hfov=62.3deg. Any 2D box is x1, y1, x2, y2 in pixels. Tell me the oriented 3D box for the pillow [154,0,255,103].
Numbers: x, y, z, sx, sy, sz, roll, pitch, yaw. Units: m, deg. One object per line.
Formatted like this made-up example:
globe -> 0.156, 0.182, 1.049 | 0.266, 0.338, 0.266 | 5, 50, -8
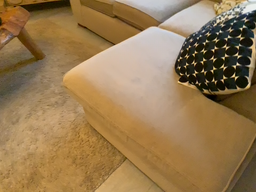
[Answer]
pillow -> 0.410, -0.240, 1.010 | 0.460, 0.220, 0.410 | 15, 48, 15
